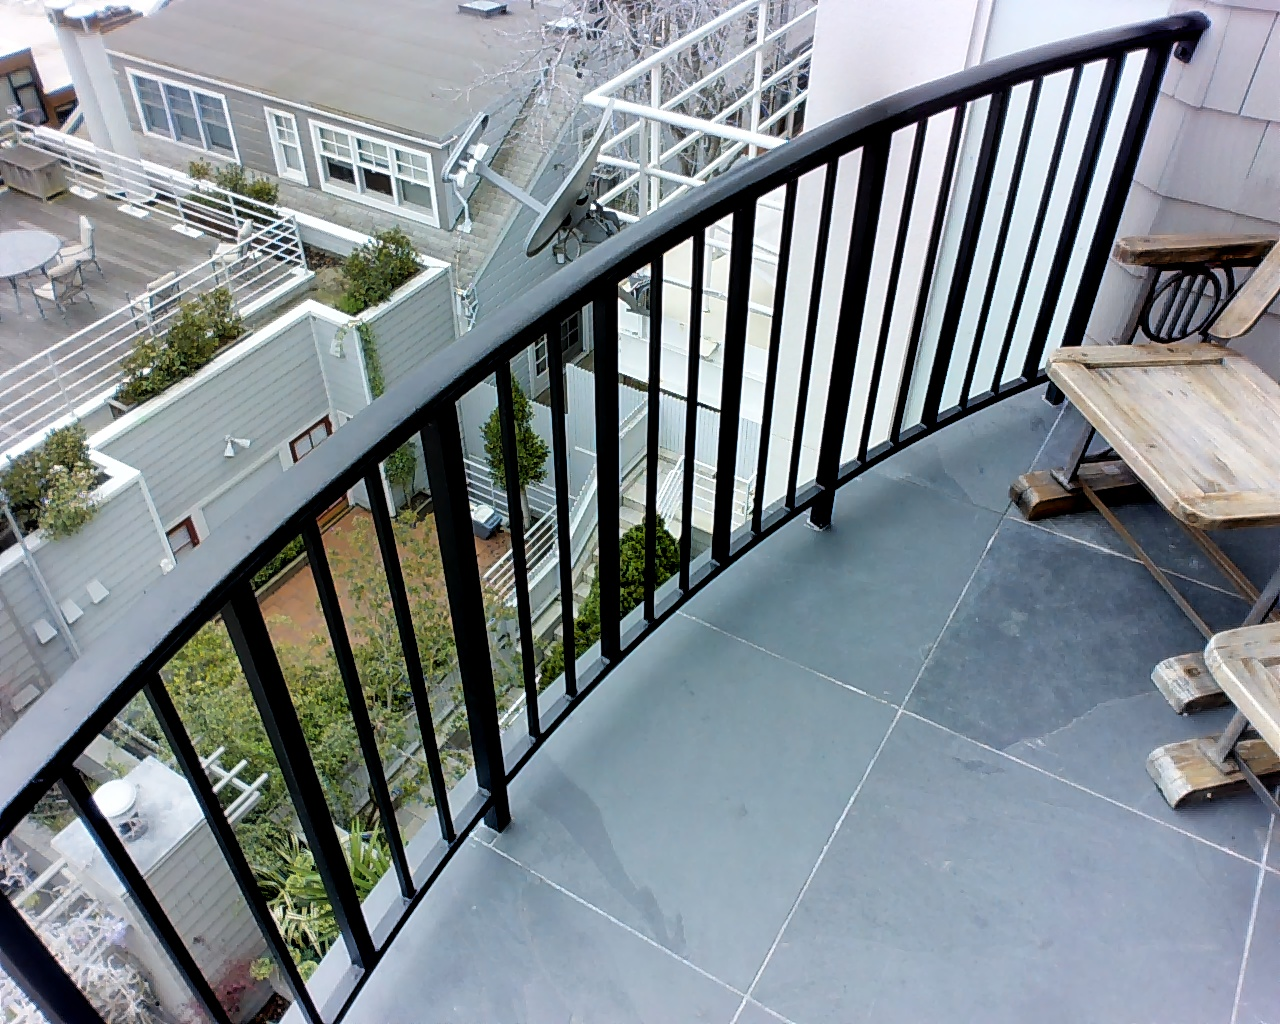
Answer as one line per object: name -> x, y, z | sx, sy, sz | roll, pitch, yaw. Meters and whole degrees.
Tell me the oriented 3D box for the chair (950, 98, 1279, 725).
chair -> 1.110, -0.200, 1.950 | 0.680, 0.820, 0.680 | -9, 43, -11
